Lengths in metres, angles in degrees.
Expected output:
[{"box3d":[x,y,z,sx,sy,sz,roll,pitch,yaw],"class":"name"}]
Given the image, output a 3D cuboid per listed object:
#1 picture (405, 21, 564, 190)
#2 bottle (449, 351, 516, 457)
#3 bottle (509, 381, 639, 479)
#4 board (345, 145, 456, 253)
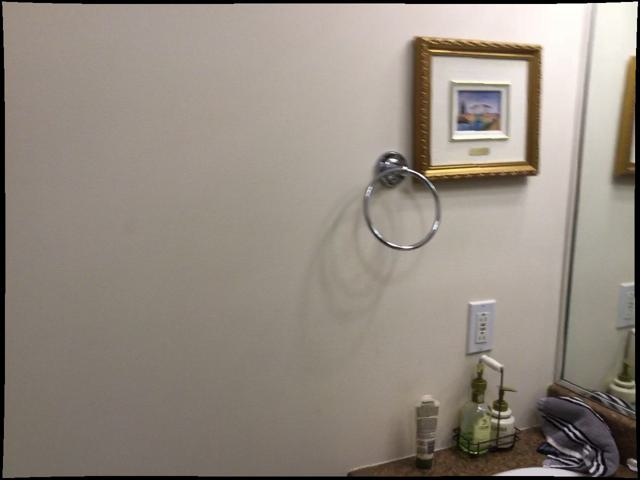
[{"box3d":[0.340,-0.260,1.180,0.350,0.310,0.040,-3,10,-25],"class":"picture"},{"box3d":[0.350,0.350,1.250,0.090,0.190,0.090,-2,10,-25],"class":"bottle"},{"box3d":[0.549,0.410,1.240,0.140,0.110,0.240,-3,10,-25],"class":"bottle"},{"box3d":[0.160,-0.080,1.130,0.230,0.200,0.020,-3,10,-25],"class":"board"}]
